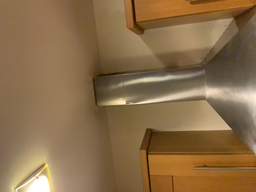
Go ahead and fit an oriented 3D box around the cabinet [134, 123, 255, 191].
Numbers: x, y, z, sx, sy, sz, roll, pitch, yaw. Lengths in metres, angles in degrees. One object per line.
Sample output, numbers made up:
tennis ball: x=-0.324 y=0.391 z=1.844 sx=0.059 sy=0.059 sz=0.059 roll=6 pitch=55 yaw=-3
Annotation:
cabinet: x=0.480 y=0.400 z=1.100 sx=0.290 sy=0.820 sz=0.430 roll=-43 pitch=-52 yaw=-75
